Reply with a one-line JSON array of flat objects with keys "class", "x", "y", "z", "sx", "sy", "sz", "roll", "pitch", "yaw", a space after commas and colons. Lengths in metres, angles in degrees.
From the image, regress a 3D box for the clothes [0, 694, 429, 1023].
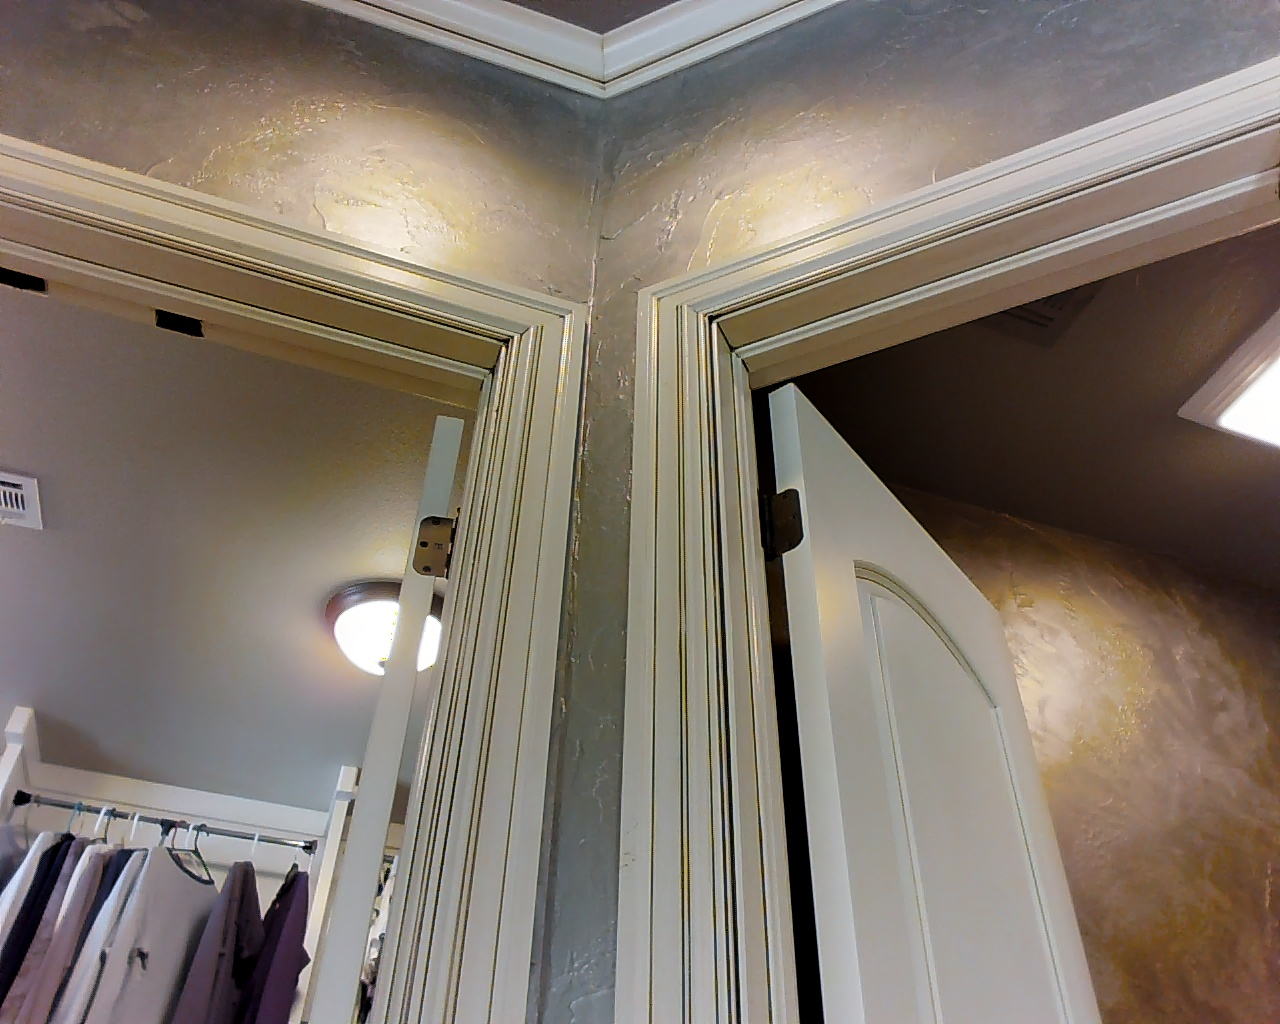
[{"class": "clothes", "x": -1.389, "y": 1.331, "z": 3.210, "sx": 1.250, "sy": 1.260, "sz": 0.510, "roll": 14, "pitch": -43, "yaw": -14}]
